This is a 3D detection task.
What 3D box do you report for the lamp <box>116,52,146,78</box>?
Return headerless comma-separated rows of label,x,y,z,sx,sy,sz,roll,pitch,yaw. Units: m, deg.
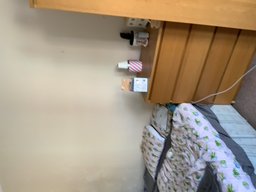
lamp,0.020,-0.340,2.290,0.320,0.260,0.150,-107,22,-60
